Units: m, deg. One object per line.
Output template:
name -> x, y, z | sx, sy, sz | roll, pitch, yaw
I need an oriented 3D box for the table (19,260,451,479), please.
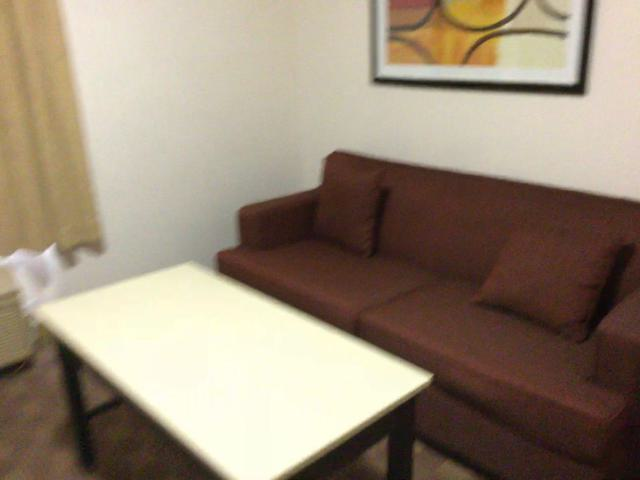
table -> -0.290, 0.550, 1.640 | 1.120, 0.640, 0.590 | 15, 23, 43

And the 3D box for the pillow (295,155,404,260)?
pillow -> 0.130, -0.170, 2.720 | 0.240, 0.390, 0.470 | -15, 22, -40

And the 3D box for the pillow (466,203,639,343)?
pillow -> 0.810, 0.090, 2.040 | 0.310, 0.330, 0.460 | -15, 22, -40

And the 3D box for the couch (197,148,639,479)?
couch -> 0.440, 0.190, 2.320 | 0.950, 0.860, 1.850 | -15, 22, -40
